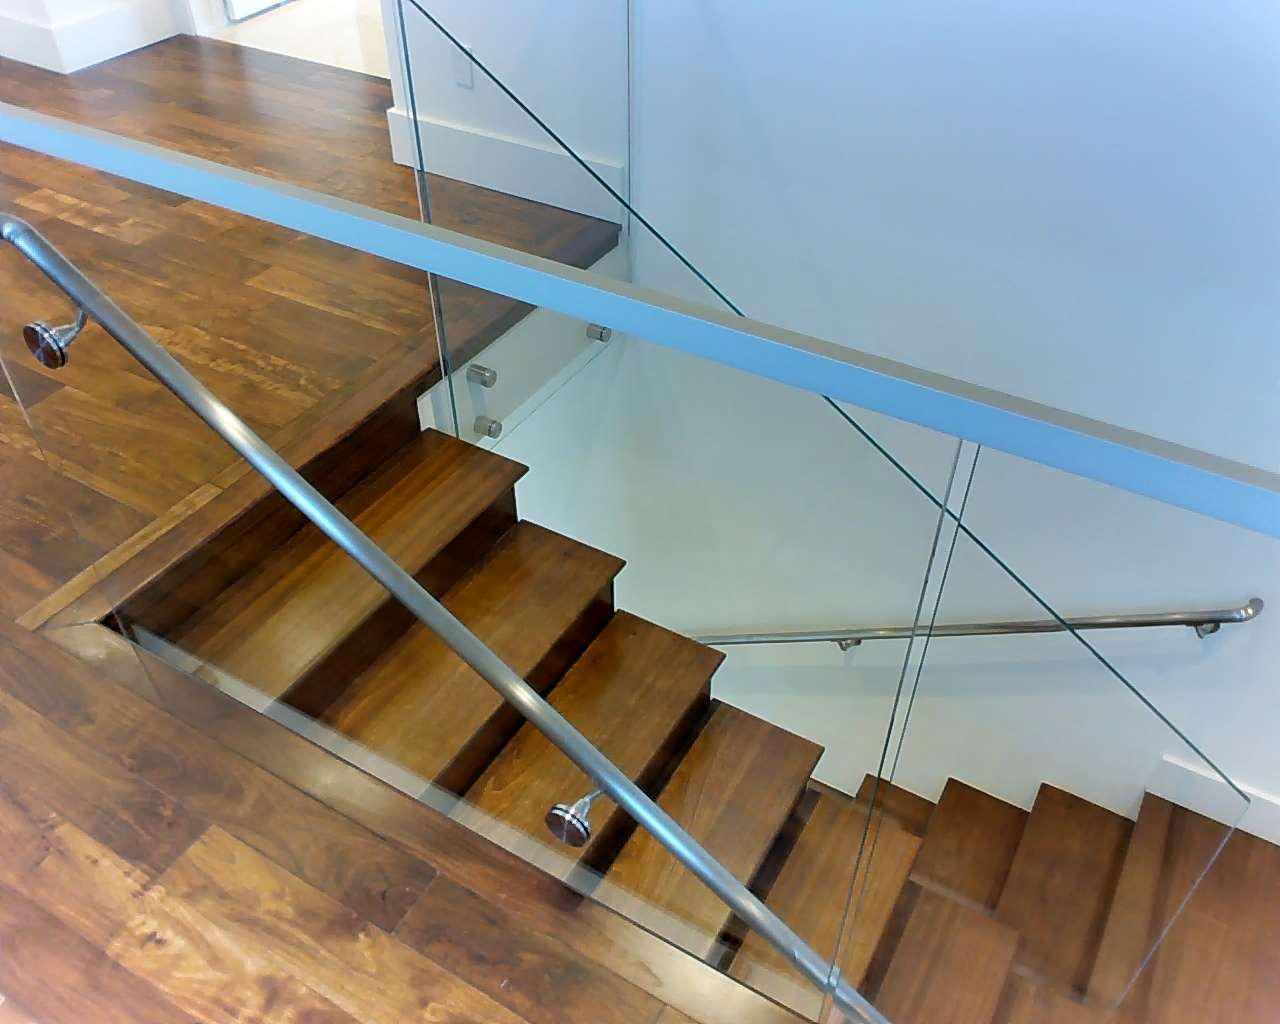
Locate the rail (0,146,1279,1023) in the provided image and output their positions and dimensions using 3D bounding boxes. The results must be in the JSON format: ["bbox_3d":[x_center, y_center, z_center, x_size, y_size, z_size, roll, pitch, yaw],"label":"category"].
[{"bbox_3d":[-0.070,0.410,1.630,2.310,1.440,0.180,21,45,23],"label":"rail"}]
